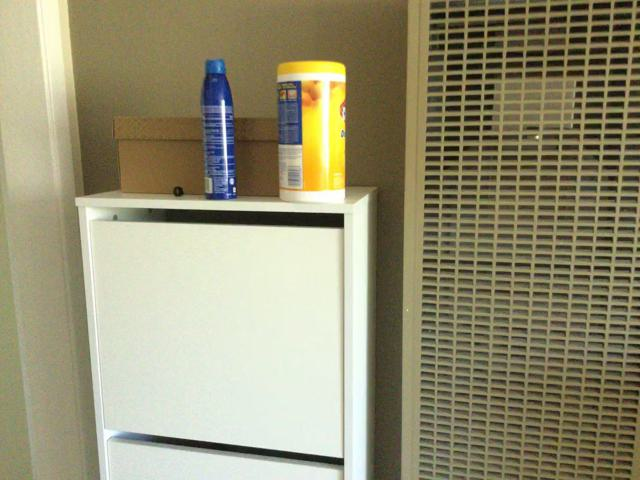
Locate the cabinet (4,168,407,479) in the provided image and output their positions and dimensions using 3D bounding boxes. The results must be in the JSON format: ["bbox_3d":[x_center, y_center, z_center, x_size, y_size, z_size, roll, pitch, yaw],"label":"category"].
[{"bbox_3d":[-0.160,0.550,1.180,0.640,1.320,0.280,-3,9,16],"label":"cabinet"}]

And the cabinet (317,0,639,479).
[{"bbox_3d":[0.370,0.380,1.060,0.570,1.660,0.180,-3,9,16],"label":"cabinet"}]
